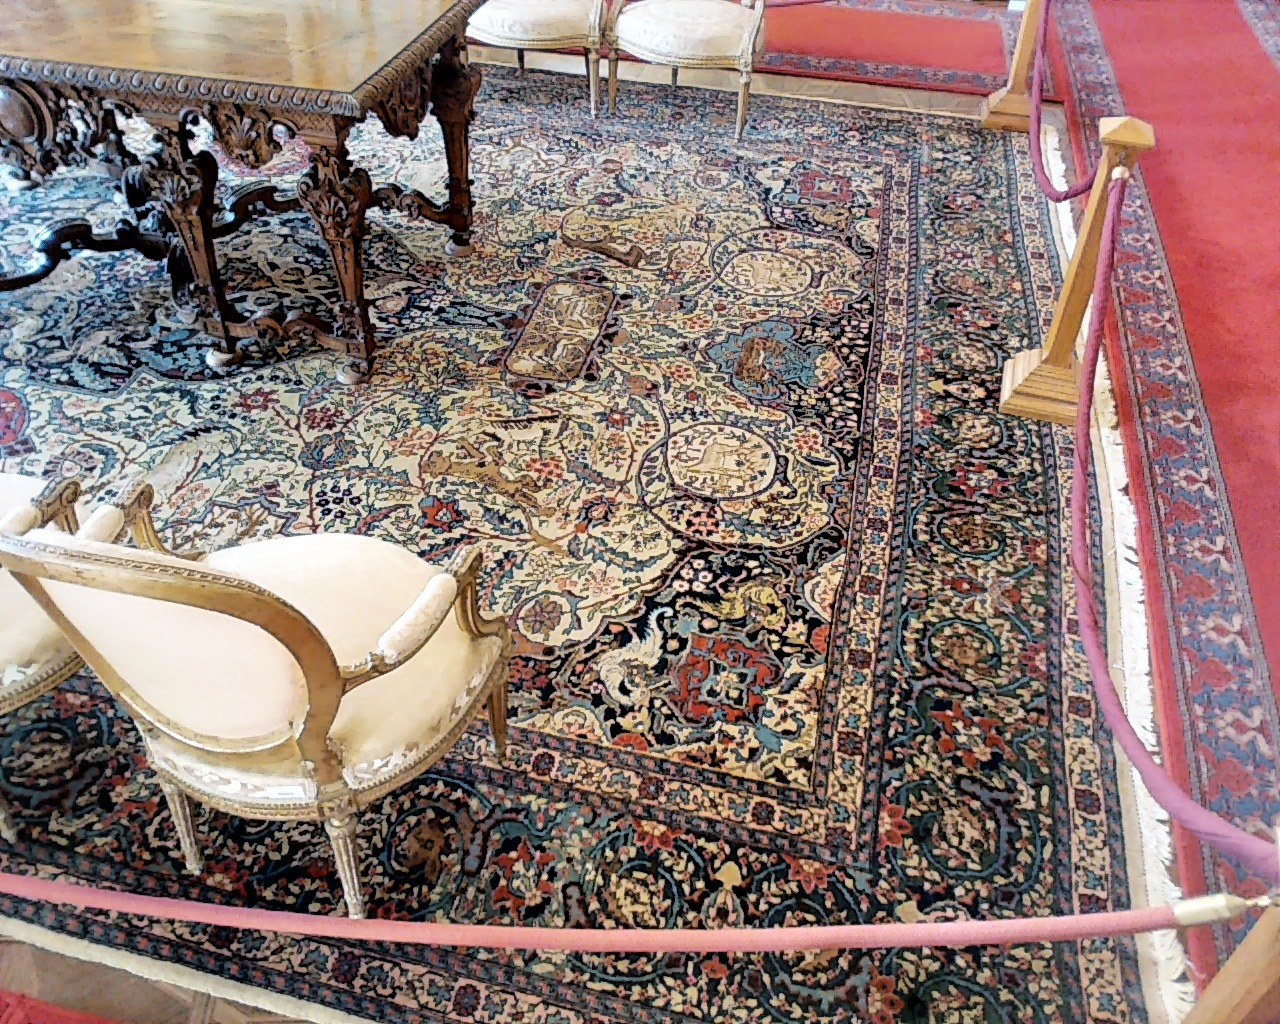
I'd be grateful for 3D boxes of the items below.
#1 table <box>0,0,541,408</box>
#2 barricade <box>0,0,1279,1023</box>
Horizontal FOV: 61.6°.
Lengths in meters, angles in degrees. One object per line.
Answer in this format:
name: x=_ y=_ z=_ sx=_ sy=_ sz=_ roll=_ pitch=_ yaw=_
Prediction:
table: x=-1.400 y=-1.070 z=3.130 sx=1.960 sy=0.830 sz=1.020 roll=9 pitch=42 yaw=10
barricade: x=-0.250 y=-0.860 z=2.970 sx=3.159 sy=0.820 sz=4.540 roll=9 pitch=42 yaw=10
